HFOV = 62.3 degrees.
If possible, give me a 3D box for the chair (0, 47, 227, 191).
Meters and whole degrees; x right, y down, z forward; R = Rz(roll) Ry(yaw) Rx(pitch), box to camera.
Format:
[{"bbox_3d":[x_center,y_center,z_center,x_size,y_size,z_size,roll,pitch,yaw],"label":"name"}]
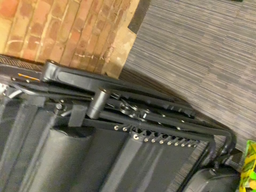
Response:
[{"bbox_3d":[-0.020,0.270,0.920,0.510,0.880,0.640,32,105,25],"label":"chair"}]
